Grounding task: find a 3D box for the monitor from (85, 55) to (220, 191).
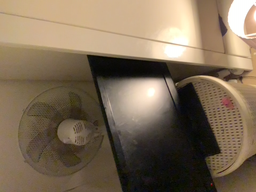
[{"bbox_3d":[0.090,0.110,0.740,0.030,0.370,0.550,-39,63,45],"label":"monitor"}]
